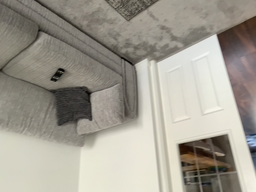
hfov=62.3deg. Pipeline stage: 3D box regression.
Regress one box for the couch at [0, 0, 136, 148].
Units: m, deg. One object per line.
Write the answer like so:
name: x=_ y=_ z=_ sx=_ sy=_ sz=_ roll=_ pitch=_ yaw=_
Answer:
couch: x=-1.020 y=-0.270 z=1.650 sx=0.920 sy=0.870 sz=2.210 roll=-23 pitch=147 yaw=36
